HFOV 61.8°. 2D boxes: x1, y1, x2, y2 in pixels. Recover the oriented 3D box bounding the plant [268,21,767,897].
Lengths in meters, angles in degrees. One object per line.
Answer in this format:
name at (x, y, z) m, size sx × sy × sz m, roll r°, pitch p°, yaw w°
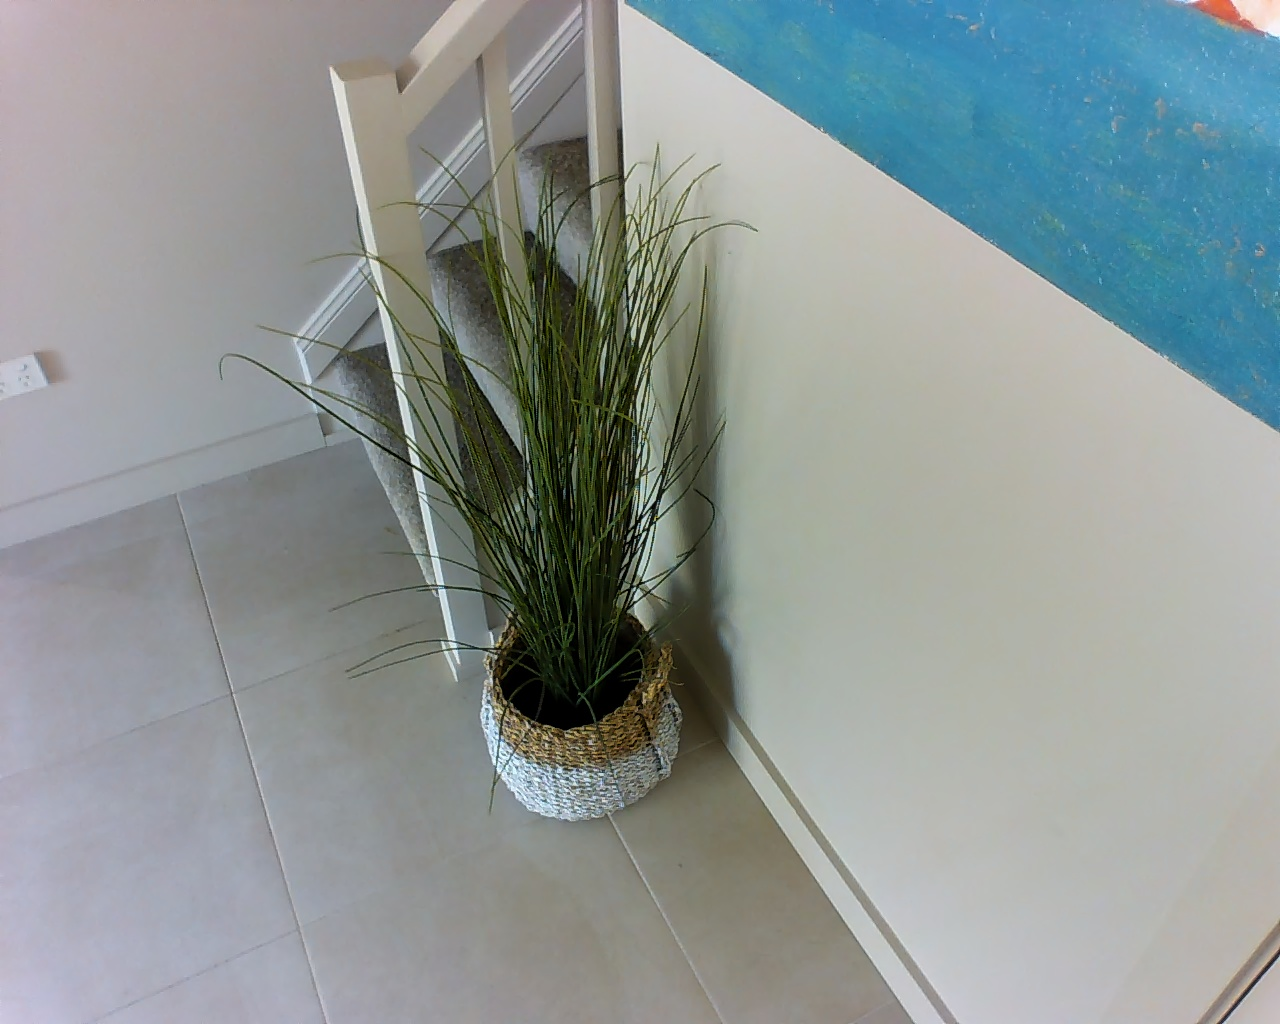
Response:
plant at (-0.130, 0.000, 1.490) m, size 0.380 × 1.120 × 0.430 m, roll -21°, pitch 46°, yaw -19°
